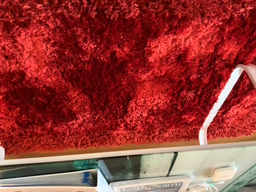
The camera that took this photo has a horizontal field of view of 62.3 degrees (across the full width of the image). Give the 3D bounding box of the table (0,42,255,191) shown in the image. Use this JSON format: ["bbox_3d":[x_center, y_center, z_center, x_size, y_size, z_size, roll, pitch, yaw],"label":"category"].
[{"bbox_3d":[-0.120,0.180,0.780,1.100,0.340,0.600,-4,143,-4],"label":"table"}]
